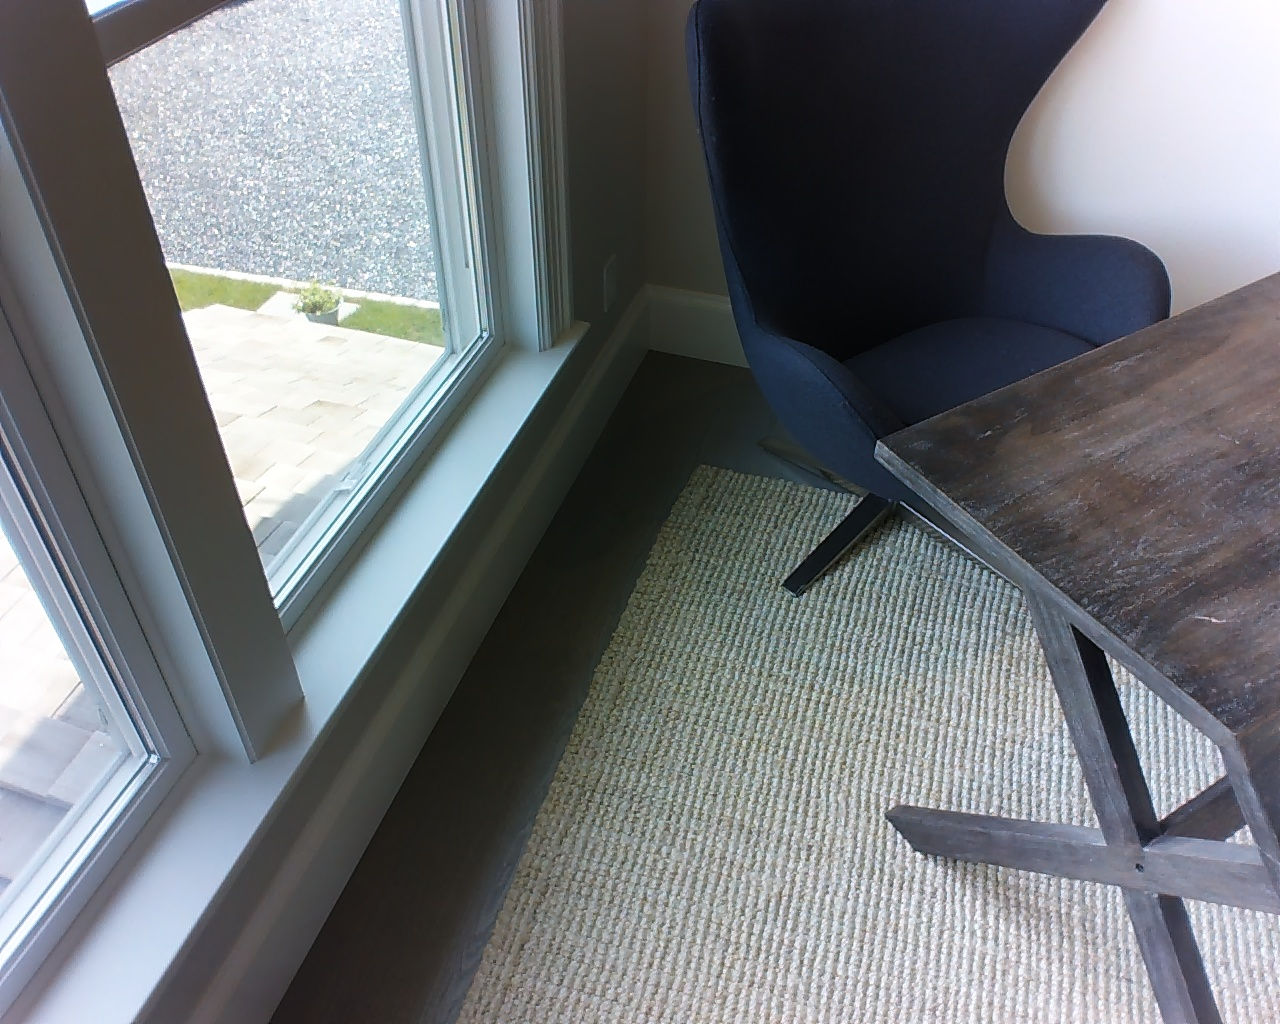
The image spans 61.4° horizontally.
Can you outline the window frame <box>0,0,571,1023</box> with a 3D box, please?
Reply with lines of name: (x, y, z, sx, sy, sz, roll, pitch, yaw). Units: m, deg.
window frame: (-0.570, -0.330, 0.950, 0.340, 1.790, 1.920, 12, 43, 12)
